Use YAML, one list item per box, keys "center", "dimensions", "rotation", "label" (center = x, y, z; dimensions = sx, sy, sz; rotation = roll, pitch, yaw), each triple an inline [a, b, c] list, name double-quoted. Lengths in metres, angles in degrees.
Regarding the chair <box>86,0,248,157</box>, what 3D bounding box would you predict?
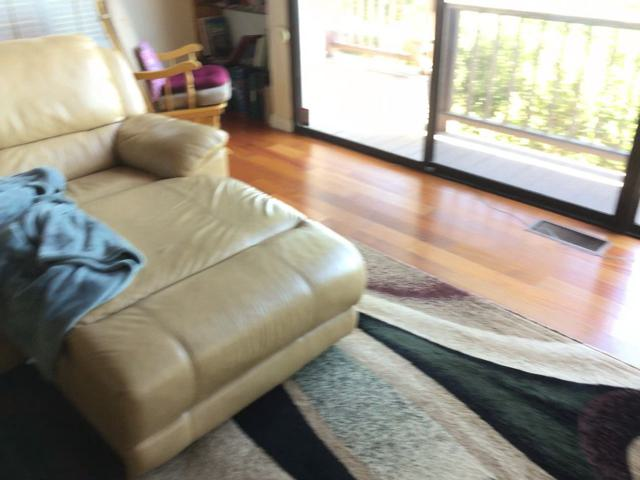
- center: [-0.920, -1.120, 3.720]
  dimensions: [0.890, 0.990, 0.640]
  rotation: [-1, 28, -9]
  label: "chair"
